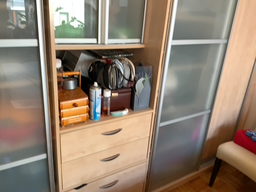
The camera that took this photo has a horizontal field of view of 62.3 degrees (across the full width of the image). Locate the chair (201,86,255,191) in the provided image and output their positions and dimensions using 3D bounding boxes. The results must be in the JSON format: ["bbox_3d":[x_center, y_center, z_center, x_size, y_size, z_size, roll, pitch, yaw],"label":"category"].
[{"bbox_3d":[1.100,0.440,1.840,0.570,0.920,0.460,-9,26,-31],"label":"chair"}]
